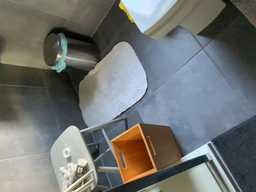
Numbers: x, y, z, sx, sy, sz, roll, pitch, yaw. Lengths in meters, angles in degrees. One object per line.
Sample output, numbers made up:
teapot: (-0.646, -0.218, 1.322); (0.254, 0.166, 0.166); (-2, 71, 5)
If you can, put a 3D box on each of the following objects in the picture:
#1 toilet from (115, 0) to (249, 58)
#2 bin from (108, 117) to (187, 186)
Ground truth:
toilet: (0.210, -0.550, 1.080); (0.360, 0.460, 0.540); (-46, 59, 32)
bin: (0.110, 0.320, 1.270); (0.280, 0.280, 0.280); (-39, 63, 35)
